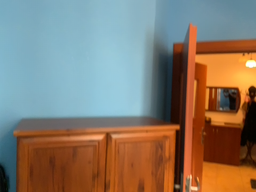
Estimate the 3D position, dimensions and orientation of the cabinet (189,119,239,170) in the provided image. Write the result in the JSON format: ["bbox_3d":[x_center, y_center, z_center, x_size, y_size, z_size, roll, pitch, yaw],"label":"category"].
[{"bbox_3d":[2.120,1.160,5.270,1.060,1.000,0.520,3,2,24],"label":"cabinet"}]
